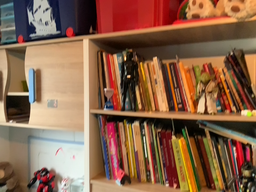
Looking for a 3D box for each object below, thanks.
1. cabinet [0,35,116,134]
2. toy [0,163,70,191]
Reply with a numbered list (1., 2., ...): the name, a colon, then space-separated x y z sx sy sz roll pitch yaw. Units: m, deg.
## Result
1. cabinet: -0.610 -0.070 1.420 1.000 0.490 0.370 1 3 23
2. toy: -0.650 0.680 1.500 0.380 0.280 0.250 1 2 19
